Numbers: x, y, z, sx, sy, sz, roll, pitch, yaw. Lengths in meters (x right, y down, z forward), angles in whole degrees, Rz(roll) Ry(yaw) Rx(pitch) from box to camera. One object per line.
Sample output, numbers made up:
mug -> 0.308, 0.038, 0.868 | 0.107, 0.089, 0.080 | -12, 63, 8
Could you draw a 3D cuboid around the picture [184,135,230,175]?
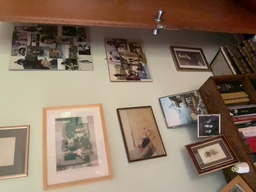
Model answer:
picture -> 0.430, 0.320, 1.160 | 0.070, 0.200, 0.190 | -47, 44, 44
